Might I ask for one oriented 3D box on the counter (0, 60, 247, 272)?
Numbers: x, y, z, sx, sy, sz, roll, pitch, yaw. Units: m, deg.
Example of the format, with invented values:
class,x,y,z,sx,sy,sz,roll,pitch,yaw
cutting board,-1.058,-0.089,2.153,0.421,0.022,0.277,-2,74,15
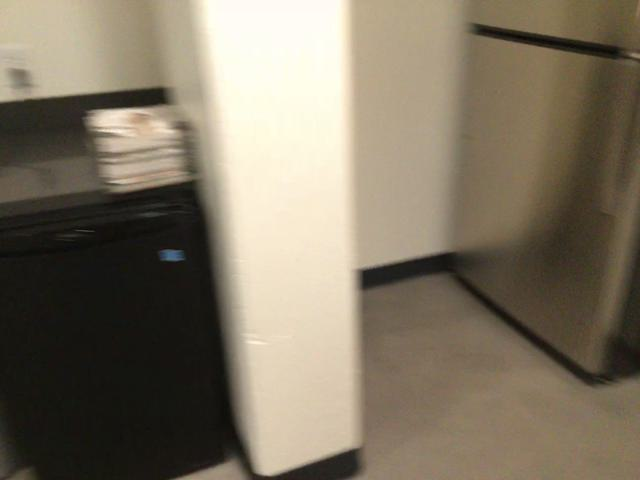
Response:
class,x,y,z,sx,sy,sz,roll,pitch,yaw
counter,-1.040,-0.160,1.410,1.560,0.350,0.670,-12,24,-19
